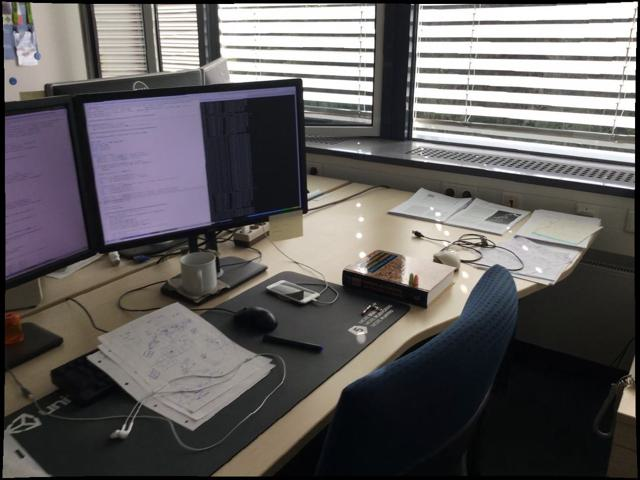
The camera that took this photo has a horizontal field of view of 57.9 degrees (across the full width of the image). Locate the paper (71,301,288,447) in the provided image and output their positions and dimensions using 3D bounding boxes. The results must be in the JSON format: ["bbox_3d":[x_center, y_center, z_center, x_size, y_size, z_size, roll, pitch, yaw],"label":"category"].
[{"bbox_3d":[-0.270,0.240,1.130,0.320,0.060,0.260,14,27,32],"label":"paper"}]

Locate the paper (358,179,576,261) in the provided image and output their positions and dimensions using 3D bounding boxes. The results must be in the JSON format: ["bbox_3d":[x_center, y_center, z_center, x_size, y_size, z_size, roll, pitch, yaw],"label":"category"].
[{"bbox_3d":[0.499,-0.090,1.960,0.590,0.040,0.450,14,27,32],"label":"paper"}]

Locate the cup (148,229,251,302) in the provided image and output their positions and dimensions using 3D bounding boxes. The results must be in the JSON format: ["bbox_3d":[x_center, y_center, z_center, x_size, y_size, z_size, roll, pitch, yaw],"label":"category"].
[{"bbox_3d":[-0.310,0.060,1.510,0.160,0.090,0.200,14,27,32],"label":"cup"}]

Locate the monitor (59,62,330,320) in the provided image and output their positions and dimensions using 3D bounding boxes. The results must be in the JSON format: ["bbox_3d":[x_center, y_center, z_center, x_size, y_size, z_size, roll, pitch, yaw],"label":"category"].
[{"bbox_3d":[-0.280,-0.150,1.460,0.590,0.520,0.200,-14,26,-28],"label":"monitor"}]
